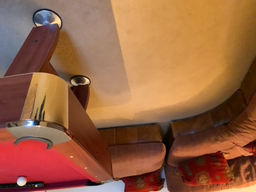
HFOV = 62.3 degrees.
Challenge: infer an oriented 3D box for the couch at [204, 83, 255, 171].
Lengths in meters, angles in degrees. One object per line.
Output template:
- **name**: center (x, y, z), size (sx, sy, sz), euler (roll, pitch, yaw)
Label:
- **couch**: center (1.390, 0.340, 2.130), size (0.980, 0.690, 0.430), euler (8, 145, -20)
